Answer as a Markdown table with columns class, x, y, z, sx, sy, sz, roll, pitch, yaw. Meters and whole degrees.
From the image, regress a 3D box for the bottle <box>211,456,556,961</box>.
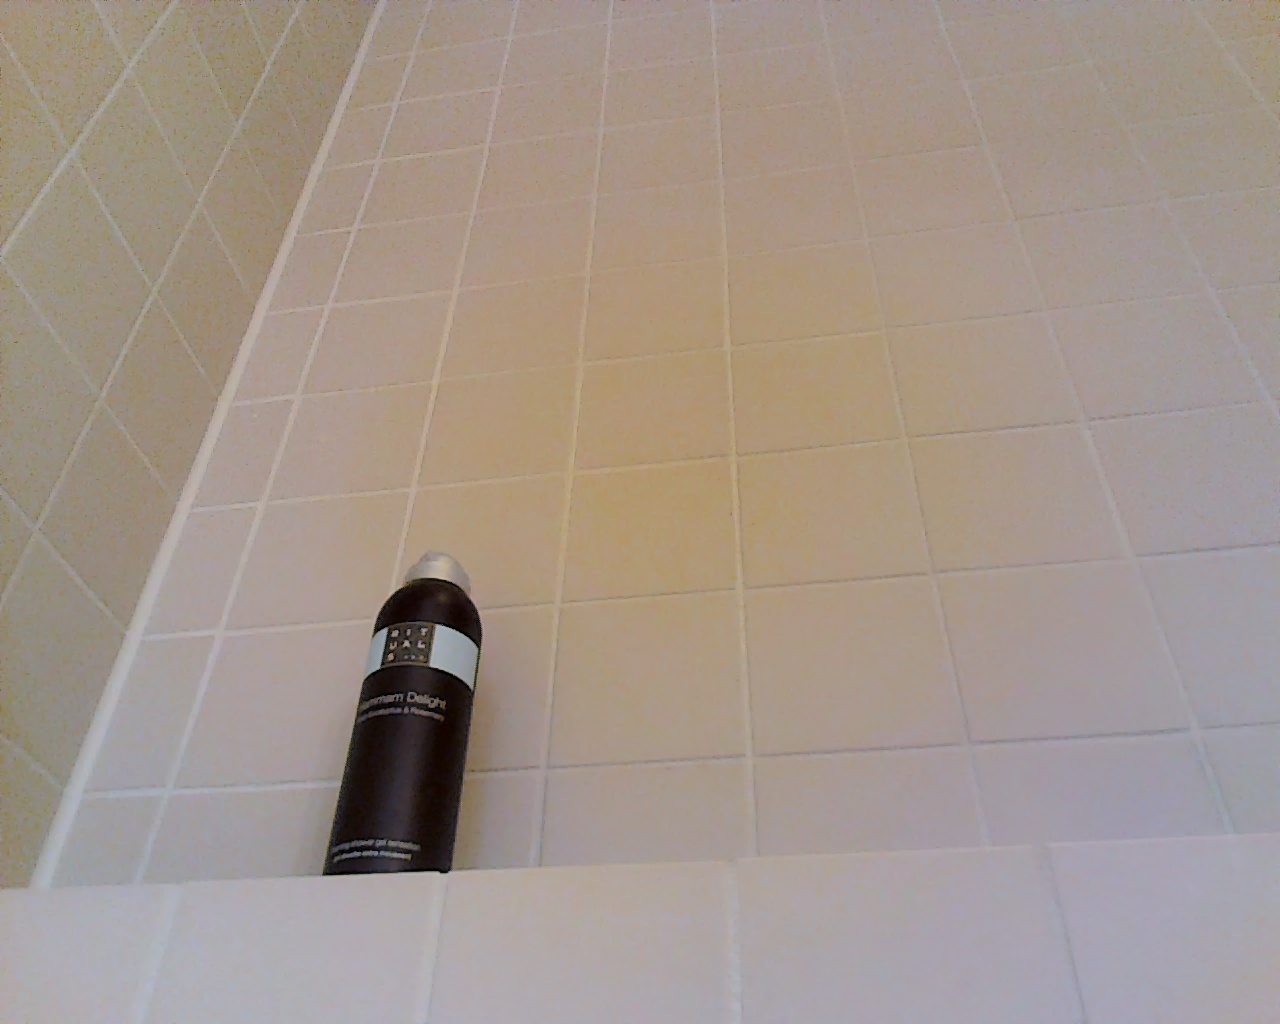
| class | x | y | z | sx | sy | sz | roll | pitch | yaw |
| --- | --- | --- | --- | --- | --- | --- | --- | --- | --- |
| bottle | -0.110 | 0.090 | 0.530 | 0.100 | 0.220 | 0.100 | -4 | -42 | 8 |
